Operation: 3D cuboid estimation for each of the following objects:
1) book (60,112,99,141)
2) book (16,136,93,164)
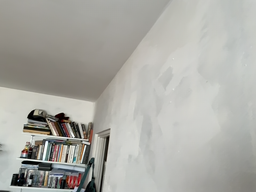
[{"bbox_3d":[-0.640,0.410,2.820,0.450,0.310,0.150,10,-16,-15],"label":"book"},{"bbox_3d":[-0.900,0.690,2.680,0.860,0.250,0.150,10,-16,-15],"label":"book"}]
